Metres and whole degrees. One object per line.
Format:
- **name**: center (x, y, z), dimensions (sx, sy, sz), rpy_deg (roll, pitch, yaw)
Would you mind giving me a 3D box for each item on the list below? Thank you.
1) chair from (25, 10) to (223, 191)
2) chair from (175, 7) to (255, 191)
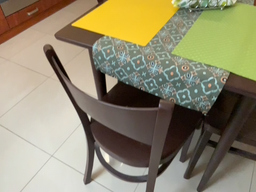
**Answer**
- **chair**: center (0.020, 0.140, 0.880), dimensions (0.400, 0.750, 0.450), rpy_deg (22, 50, 20)
- **chair**: center (0.560, 0.110, 0.910), dimensions (0.500, 0.740, 0.410), rpy_deg (17, 48, 16)
